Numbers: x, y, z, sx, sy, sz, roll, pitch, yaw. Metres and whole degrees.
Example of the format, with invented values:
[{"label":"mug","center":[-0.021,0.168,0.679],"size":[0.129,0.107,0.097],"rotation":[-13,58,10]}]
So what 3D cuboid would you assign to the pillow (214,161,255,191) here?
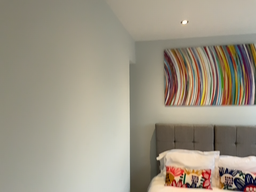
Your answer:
[{"label":"pillow","center":[1.380,1.000,2.550],"size":[0.570,0.270,0.160],"rotation":[-21,-3,15]}]
